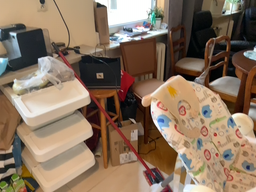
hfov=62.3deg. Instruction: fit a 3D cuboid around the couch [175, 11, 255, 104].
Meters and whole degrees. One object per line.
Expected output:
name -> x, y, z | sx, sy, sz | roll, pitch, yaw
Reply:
couch -> 1.290, -0.600, 2.940 | 0.910, 0.980, 0.720 | 21, 34, 35
